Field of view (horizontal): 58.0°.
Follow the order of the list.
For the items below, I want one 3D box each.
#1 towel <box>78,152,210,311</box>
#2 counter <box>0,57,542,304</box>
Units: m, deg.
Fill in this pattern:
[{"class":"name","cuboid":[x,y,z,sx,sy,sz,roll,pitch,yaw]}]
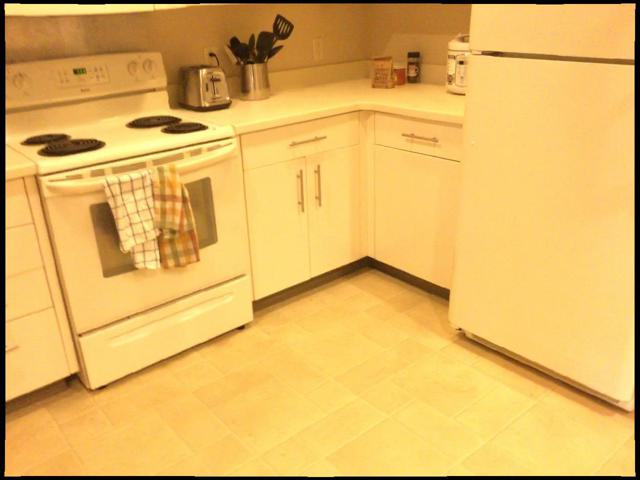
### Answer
[{"class":"towel","cuboid":[-0.629,-0.040,2.120,0.370,0.471,0.160,-23,32,-40]},{"class":"counter","cuboid":[-0.439,-0.471,2.360,2.718,0.170,1.479,-23,32,-40]}]
